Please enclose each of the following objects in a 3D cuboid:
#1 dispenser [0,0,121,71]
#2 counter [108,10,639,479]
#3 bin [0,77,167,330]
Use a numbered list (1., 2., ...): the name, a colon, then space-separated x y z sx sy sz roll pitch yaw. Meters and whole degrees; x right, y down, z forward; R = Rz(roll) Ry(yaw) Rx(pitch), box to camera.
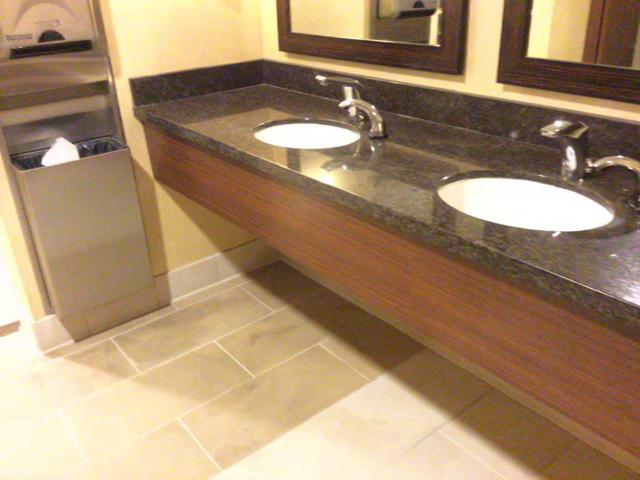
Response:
1. dispenser: -0.860 -0.780 1.830 0.360 0.430 0.120 -17 29 -33
2. counter: 0.890 0.120 0.790 0.790 0.700 4.350 -17 29 -34
3. bin: -0.860 -0.140 2.150 0.430 0.850 0.190 -17 29 -33
